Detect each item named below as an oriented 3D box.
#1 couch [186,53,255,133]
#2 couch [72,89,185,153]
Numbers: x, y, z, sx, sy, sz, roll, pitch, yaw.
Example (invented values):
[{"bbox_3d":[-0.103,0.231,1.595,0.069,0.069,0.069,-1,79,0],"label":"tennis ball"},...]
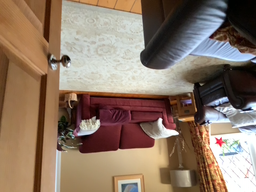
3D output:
[{"bbox_3d":[1.690,0.030,3.190,1.110,0.860,0.990,1,162,-19],"label":"couch"},{"bbox_3d":[-0.060,0.530,4.160,1.900,0.970,1.040,2,162,-20],"label":"couch"}]
